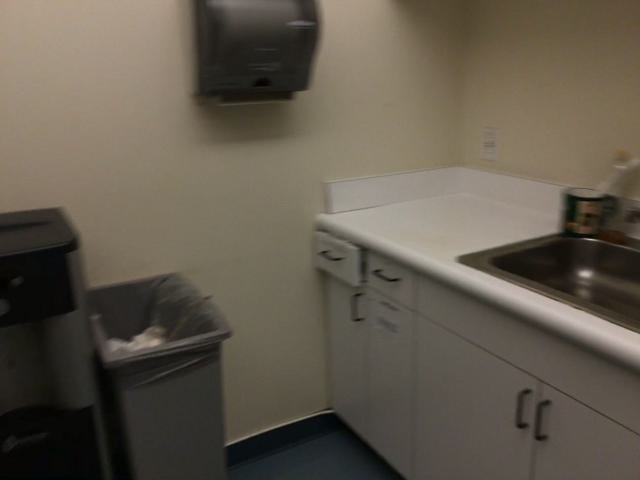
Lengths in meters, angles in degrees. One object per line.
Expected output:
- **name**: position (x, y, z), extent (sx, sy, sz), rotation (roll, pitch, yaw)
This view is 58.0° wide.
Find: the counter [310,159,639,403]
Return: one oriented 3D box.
- **counter**: position (0.700, 0.060, 1.280), extent (0.640, 0.240, 1.820), rotation (-10, 18, -28)
